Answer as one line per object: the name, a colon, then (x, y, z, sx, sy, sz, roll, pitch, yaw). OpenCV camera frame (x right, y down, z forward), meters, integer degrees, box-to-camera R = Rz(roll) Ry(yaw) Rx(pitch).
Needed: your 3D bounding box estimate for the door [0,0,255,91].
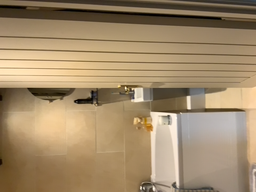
door: (0.030, -0.210, 1.050, 0.890, 1.990, 0.070, 117, 151, -70)
